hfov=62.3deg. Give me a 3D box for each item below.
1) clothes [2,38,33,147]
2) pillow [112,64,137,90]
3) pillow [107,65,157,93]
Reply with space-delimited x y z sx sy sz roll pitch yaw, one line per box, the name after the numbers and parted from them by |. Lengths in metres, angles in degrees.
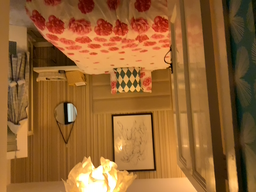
-1.550 -0.050 2.980 0.330 1.430 0.290 1 173 -38 | clothes
-0.050 -0.280 3.210 0.360 0.360 0.270 -2 178 1 | pillow
0.060 -0.270 3.450 0.760 0.380 0.280 -3 175 0 | pillow
